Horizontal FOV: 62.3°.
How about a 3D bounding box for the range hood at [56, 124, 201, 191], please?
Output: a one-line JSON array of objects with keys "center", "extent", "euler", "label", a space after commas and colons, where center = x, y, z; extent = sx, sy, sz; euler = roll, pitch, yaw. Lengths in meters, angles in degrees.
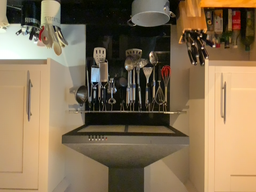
[{"center": [0.000, 0.560, 1.240], "extent": [0.670, 0.730, 0.520], "euler": [0, 179, 0], "label": "range hood"}]
